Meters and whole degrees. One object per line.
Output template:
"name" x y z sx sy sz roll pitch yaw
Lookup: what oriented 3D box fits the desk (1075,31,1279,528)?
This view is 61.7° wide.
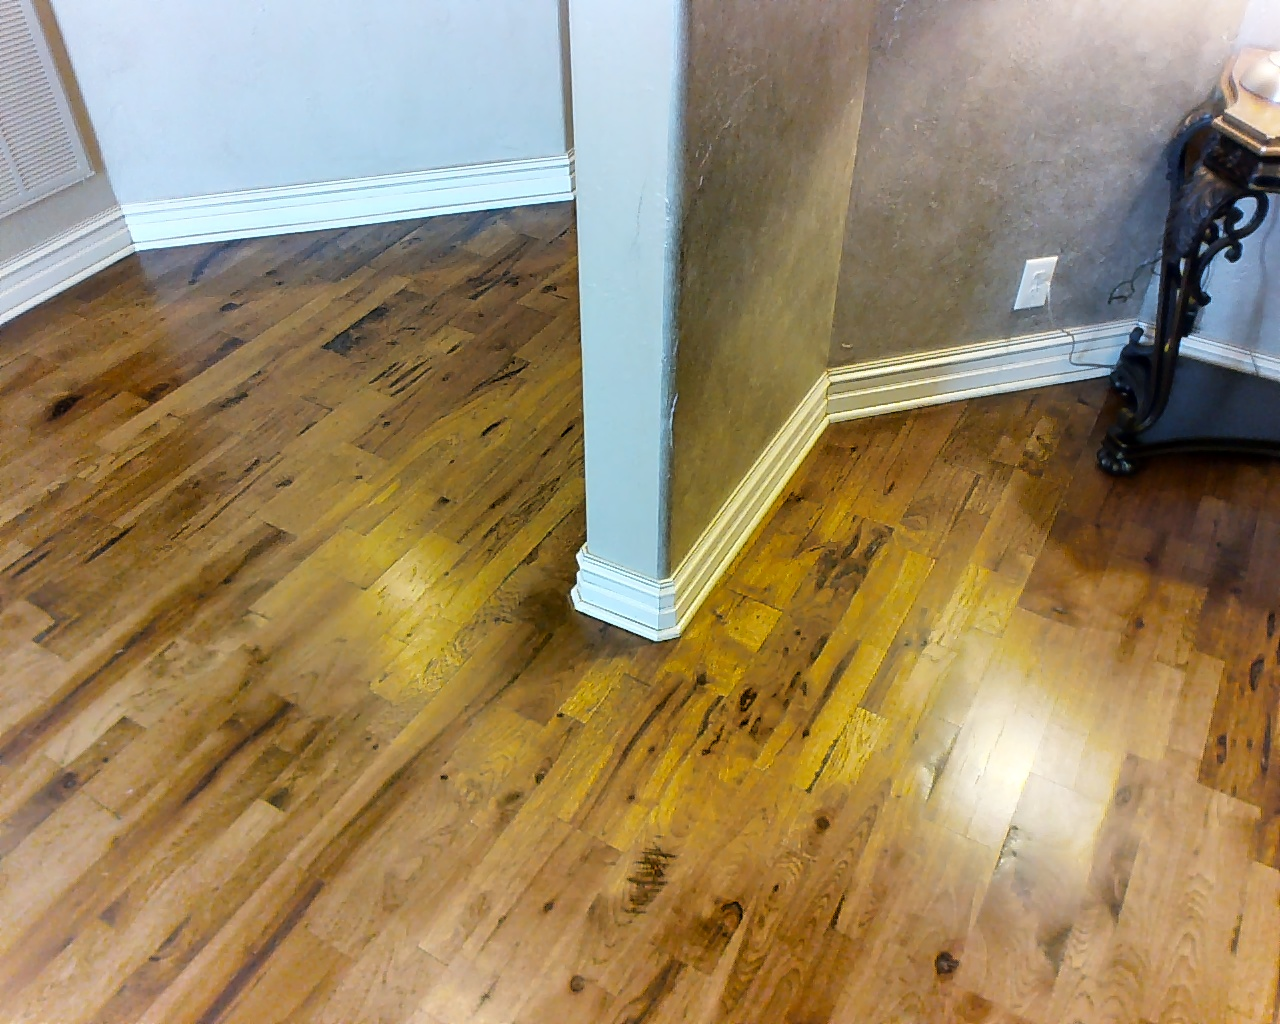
"desk" 1.680 -0.290 1.970 1.410 0.760 0.490 21 47 21
